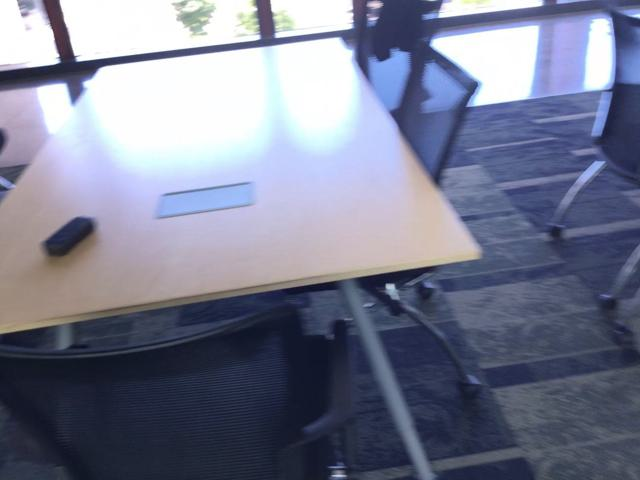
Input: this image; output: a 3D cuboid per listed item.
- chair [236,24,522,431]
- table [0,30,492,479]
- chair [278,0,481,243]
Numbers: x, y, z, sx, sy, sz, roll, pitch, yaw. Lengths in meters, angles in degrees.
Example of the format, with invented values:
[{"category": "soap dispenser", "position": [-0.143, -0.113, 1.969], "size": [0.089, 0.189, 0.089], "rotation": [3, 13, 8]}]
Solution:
[{"category": "chair", "position": [0.140, -0.040, 1.650], "size": [0.580, 0.940, 0.540], "rotation": [-10, 31, -5]}, {"category": "table", "position": [-0.300, -0.100, 2.060], "size": [1.130, 0.760, 1.920], "rotation": [-8, 31, -2]}, {"category": "chair", "position": [0.250, -0.570, 2.410], "size": [0.520, 0.890, 0.580], "rotation": [-23, 35, -26]}]
